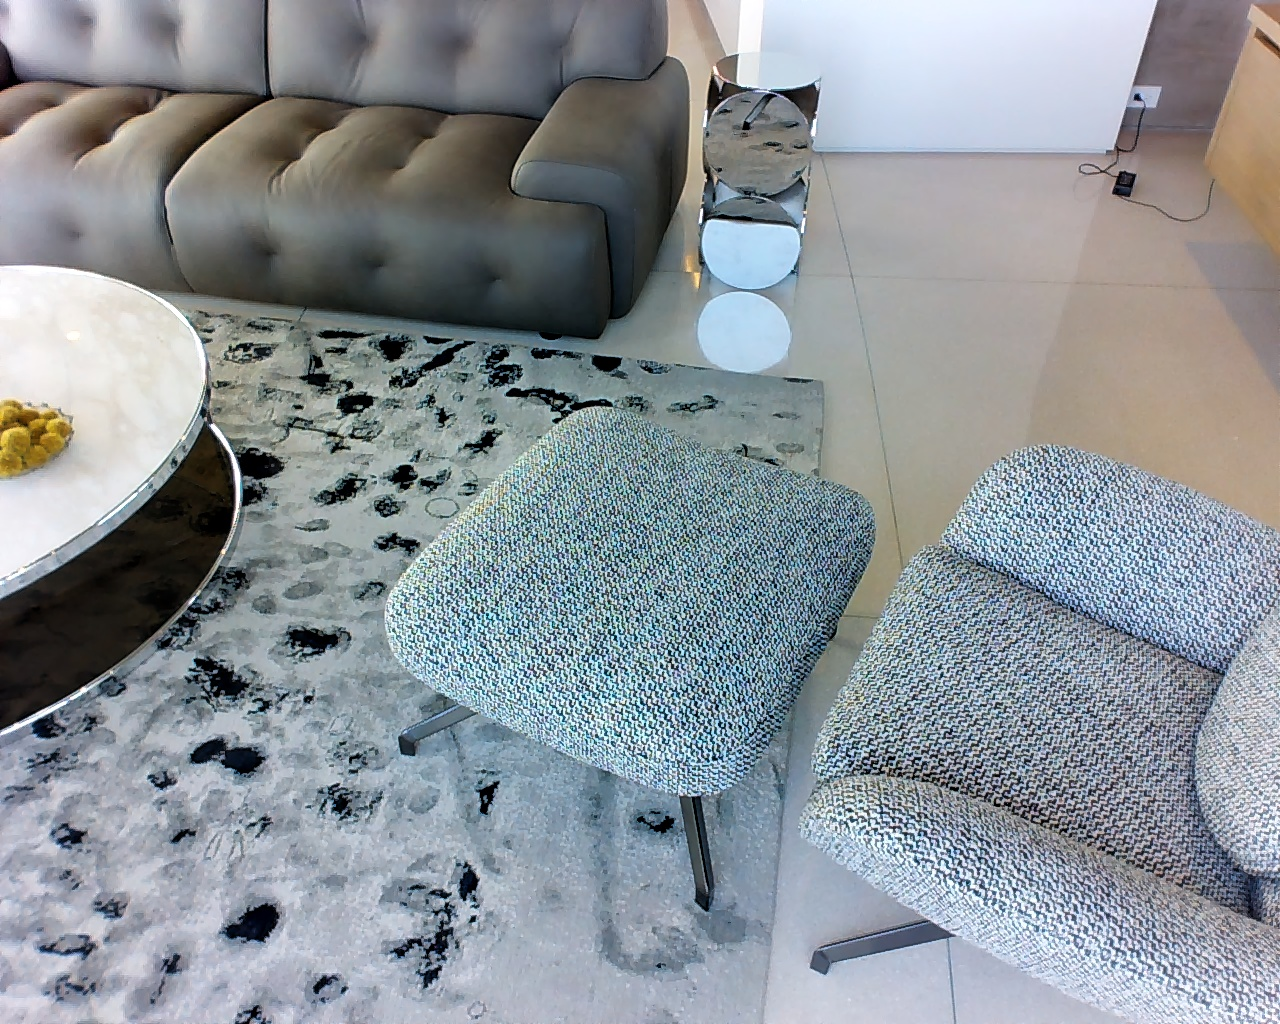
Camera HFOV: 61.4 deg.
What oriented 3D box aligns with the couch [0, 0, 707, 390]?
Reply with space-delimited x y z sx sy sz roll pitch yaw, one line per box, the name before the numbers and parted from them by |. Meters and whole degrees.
couch | -1.160 -1.130 3.120 2.520 0.700 1.190 8 41 9
